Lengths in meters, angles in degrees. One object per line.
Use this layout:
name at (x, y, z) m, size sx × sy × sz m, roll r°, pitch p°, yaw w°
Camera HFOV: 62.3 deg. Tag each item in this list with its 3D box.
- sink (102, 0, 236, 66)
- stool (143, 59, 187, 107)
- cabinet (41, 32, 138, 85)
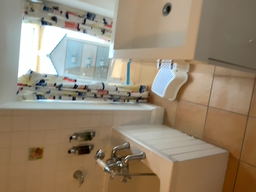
sink at (0.130, -0.380, 0.980) m, size 0.660 × 0.170 × 0.450 m, roll 13°, pitch 98°, yaw 54°
stool at (0.320, -0.110, 1.920) m, size 0.250 × 0.130 × 0.350 m, roll 57°, pitch 132°, yaw 39°
cabinet at (-0.360, -0.360, 2.180) m, size 0.200 × 0.930 × 0.390 m, roll 22°, pitch 106°, yaw 53°
